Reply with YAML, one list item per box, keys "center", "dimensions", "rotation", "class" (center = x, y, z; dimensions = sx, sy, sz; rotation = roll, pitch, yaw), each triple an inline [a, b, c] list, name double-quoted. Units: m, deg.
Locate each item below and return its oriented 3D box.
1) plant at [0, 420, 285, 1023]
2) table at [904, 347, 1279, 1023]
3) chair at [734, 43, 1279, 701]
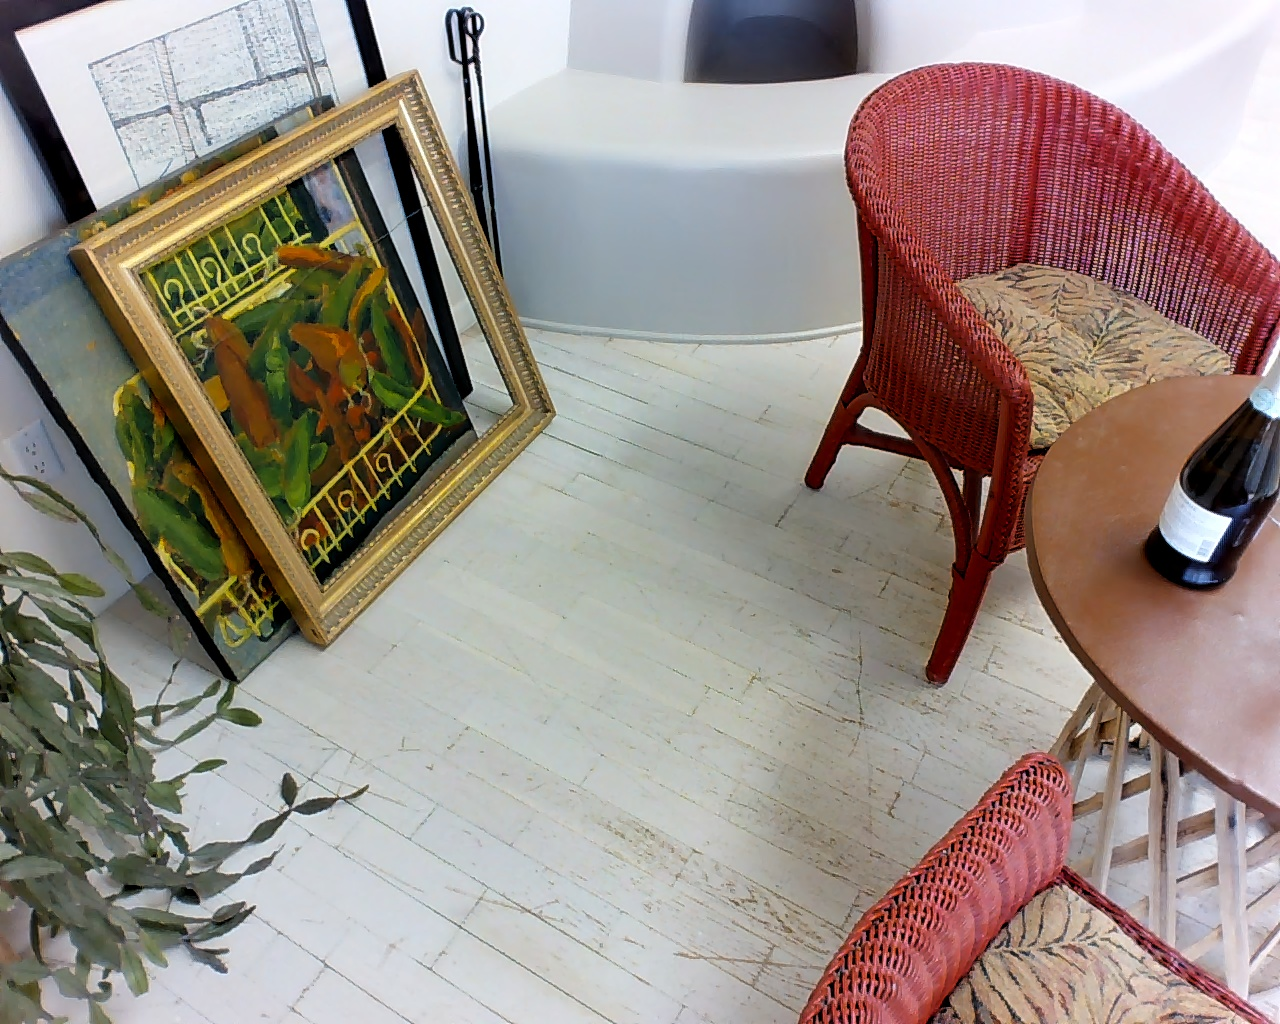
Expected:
- center: [-0.820, 0.330, 1.230]
  dimensions: [0.480, 0.710, 0.550]
  rotation: [-26, 50, -26]
  class: "plant"
- center: [0.800, 0.290, 1.360]
  dimensions: [0.780, 0.620, 0.710]
  rotation: [7, 44, 5]
  class: "table"
- center: [0.630, -0.260, 1.840]
  dimensions: [0.610, 0.750, 0.670]
  rotation: [-20, 48, -21]
  class: "chair"
